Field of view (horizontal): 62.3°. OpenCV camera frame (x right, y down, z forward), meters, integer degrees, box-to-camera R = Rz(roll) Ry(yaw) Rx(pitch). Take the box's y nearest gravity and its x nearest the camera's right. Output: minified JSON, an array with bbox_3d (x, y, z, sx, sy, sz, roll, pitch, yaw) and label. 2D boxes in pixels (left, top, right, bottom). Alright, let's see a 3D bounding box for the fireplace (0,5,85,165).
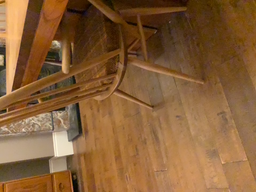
[{"bbox_3d":[-1.320,-0.120,2.430,0.700,1.220,1.640,-37,60,51],"label":"fireplace"}]
